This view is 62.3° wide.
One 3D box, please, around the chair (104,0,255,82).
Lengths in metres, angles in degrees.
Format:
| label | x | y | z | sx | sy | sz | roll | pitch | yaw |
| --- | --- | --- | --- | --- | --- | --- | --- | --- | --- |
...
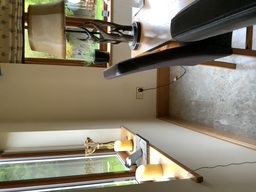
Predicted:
| label | x | y | z | sx | sy | sz | roll | pitch | yaw |
| --- | --- | --- | --- | --- | --- | --- | --- | --- | --- |
| chair | 0.390 | -0.440 | 1.410 | 0.440 | 1.020 | 0.630 | 174 | 96 | -73 |
